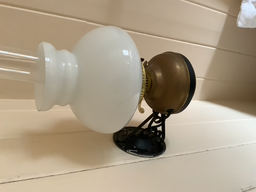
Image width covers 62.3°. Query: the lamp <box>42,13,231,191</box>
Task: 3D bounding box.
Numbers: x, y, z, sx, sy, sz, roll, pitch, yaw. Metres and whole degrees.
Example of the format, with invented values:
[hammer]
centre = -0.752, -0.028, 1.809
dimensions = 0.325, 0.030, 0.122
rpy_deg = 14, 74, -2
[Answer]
[lamp]
centre = -0.020, -0.010, 0.400
dimensions = 0.250, 0.220, 0.220
rpy_deg = 39, 122, 54
